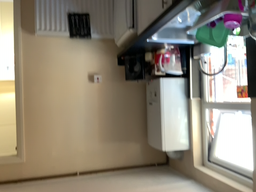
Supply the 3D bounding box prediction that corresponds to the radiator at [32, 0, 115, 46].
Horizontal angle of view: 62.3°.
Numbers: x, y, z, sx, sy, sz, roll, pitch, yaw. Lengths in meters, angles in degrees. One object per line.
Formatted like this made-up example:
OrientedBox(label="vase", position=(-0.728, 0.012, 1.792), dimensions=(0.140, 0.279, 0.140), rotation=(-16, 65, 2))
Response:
OrientedBox(label="radiator", position=(-0.590, -0.970, 2.370), dimensions=(0.870, 0.740, 0.150), rotation=(-1, 180, -16))
